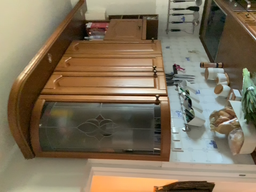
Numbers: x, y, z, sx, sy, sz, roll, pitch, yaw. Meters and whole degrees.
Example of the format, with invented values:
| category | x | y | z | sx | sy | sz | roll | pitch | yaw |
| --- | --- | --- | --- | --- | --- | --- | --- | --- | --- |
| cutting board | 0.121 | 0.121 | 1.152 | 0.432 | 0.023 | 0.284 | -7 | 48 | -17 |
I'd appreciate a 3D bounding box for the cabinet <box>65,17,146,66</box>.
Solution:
| category | x | y | z | sx | sy | sz | roll | pitch | yaw |
| --- | --- | --- | --- | --- | --- | --- | --- | --- | --- |
| cabinet | -0.210 | -0.670 | 2.550 | 0.610 | 0.850 | 0.340 | -83 | -7 | -51 |
